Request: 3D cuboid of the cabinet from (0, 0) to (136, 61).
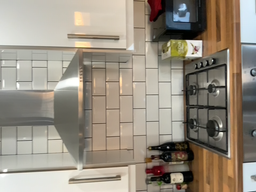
[{"bbox_3d":[-0.570,-0.550,1.290,0.320,1.190,0.590,176,93,-80],"label":"cabinet"}]
